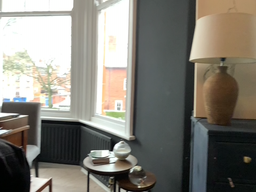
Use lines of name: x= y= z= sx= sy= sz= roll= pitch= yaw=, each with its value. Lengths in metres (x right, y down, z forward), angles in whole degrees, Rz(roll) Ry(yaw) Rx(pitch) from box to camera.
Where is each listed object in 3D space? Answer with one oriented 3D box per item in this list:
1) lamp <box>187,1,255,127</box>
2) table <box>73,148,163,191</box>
lamp: x=0.500 y=-0.150 z=1.080 sx=0.330 sy=0.570 sz=0.200 roll=3 pitch=4 yaw=8
table: x=-0.060 y=0.750 z=1.550 sx=0.540 sy=0.570 sz=0.380 roll=3 pitch=4 yaw=19
